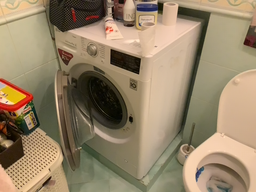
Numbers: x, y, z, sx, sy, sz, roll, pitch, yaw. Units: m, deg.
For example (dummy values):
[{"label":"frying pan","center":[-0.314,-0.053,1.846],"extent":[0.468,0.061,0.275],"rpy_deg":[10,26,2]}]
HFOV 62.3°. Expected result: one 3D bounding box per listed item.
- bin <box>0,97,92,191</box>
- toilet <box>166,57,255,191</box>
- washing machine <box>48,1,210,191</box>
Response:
[{"label":"bin","center":[-0.490,0.430,1.060],"extent":[0.480,0.630,0.360],"rpy_deg":[25,44,28]},{"label":"toilet","center":[0.480,0.330,1.050],"extent":[0.340,0.820,0.560],"rpy_deg":[25,44,28]},{"label":"washing machine","center":[0.010,0.000,1.370],"extent":[0.610,0.950,0.550],"rpy_deg":[26,45,29]}]
